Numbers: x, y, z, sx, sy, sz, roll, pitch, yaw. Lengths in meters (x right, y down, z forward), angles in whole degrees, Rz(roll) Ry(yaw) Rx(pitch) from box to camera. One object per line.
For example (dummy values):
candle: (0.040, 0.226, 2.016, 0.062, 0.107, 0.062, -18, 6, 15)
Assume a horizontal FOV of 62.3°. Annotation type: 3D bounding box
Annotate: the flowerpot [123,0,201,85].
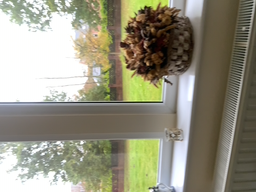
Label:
flowerpot: (0.140, -0.270, 1.070, 0.280, 0.300, 0.370, -111, 22, -73)
